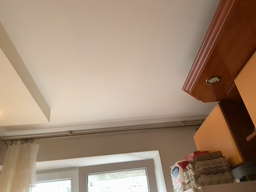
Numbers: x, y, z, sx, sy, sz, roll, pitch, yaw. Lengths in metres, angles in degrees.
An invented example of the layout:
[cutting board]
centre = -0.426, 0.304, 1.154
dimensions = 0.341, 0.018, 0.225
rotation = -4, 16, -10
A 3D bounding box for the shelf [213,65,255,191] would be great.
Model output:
[shelf]
centre = 0.780, 0.310, 1.090
dimensions = 0.300, 1.020, 0.220
rotation = -4, -32, -5
